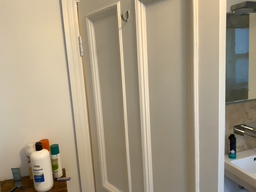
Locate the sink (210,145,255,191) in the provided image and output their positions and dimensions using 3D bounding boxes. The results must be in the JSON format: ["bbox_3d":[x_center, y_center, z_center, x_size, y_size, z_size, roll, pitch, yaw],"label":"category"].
[{"bbox_3d":[0.930,0.530,1.450,0.520,0.180,0.440,-7,10,-18],"label":"sink"}]
